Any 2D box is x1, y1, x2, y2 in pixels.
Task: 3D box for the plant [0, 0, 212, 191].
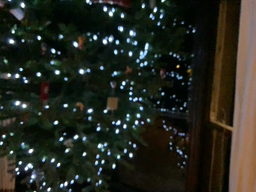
[{"bbox_3d":[-0.430,-0.250,1.770,1.560,2.970,1.780,7,-173,37],"label":"plant"}]
